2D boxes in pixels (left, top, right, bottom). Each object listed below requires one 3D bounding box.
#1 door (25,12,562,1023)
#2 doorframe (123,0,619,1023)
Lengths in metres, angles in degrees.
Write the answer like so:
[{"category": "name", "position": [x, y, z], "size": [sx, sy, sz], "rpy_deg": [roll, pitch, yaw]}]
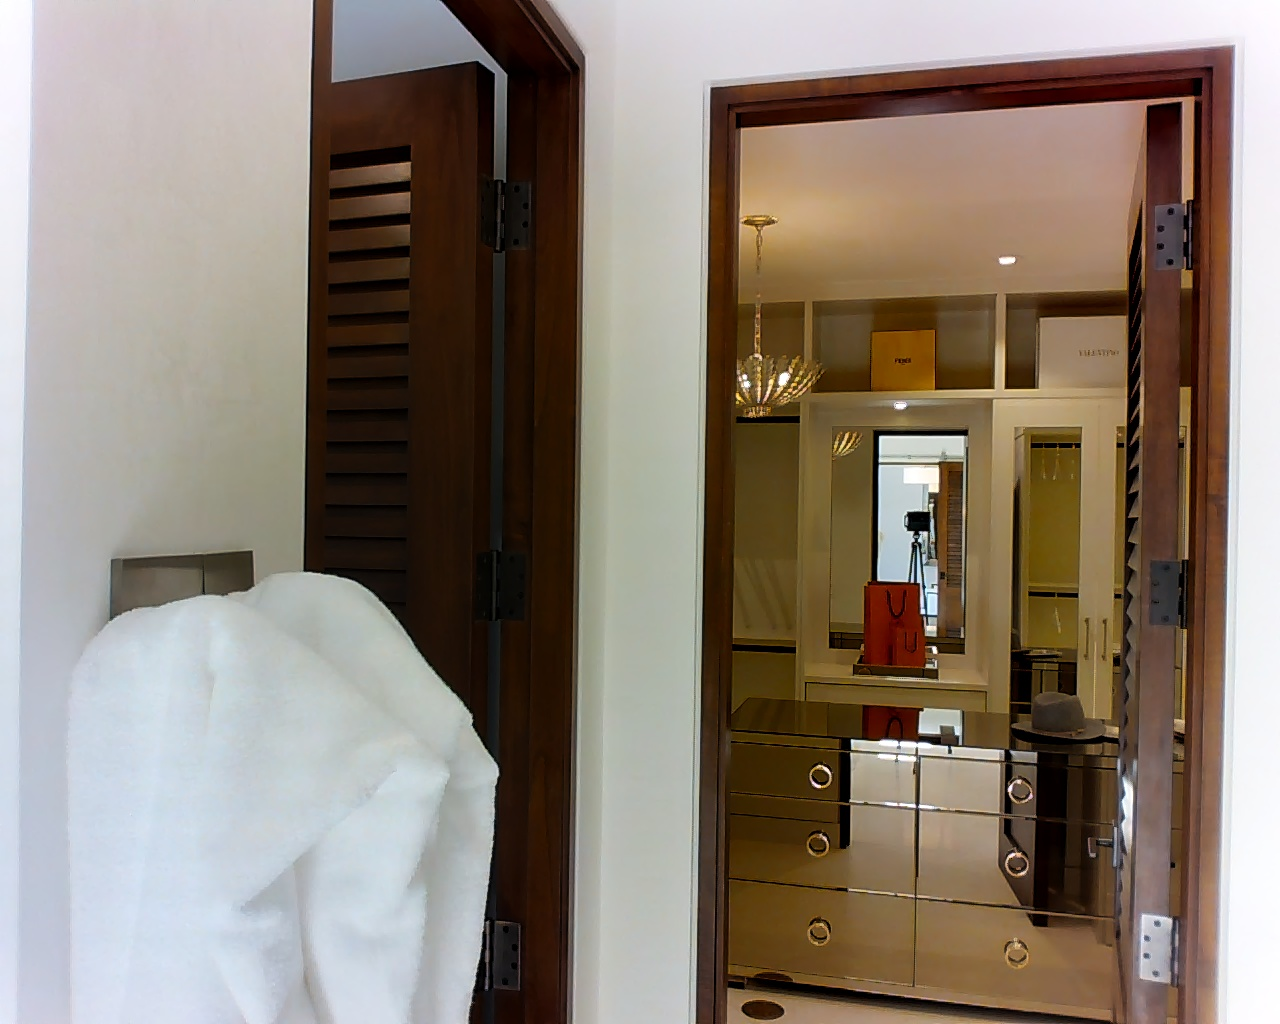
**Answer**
[{"category": "door", "position": [-0.630, 0.420, 1.870], "size": [0.960, 2.450, 0.080], "rpy_deg": [1, 0, 14]}, {"category": "doorframe", "position": [-0.270, 0.420, 1.420], "size": [0.190, 2.450, 0.920], "rpy_deg": [1, 0, 15]}]
